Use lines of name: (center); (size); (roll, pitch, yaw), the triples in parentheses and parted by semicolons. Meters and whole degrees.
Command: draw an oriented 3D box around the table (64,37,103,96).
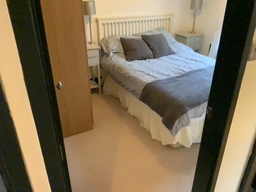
table: (-0.700, -0.480, 3.400); (0.440, 0.820, 0.370); (-14, 30, -25)

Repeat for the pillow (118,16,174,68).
pillow: (0.290, -0.850, 3.380); (0.880, 0.430, 0.210); (-32, 71, -6)
